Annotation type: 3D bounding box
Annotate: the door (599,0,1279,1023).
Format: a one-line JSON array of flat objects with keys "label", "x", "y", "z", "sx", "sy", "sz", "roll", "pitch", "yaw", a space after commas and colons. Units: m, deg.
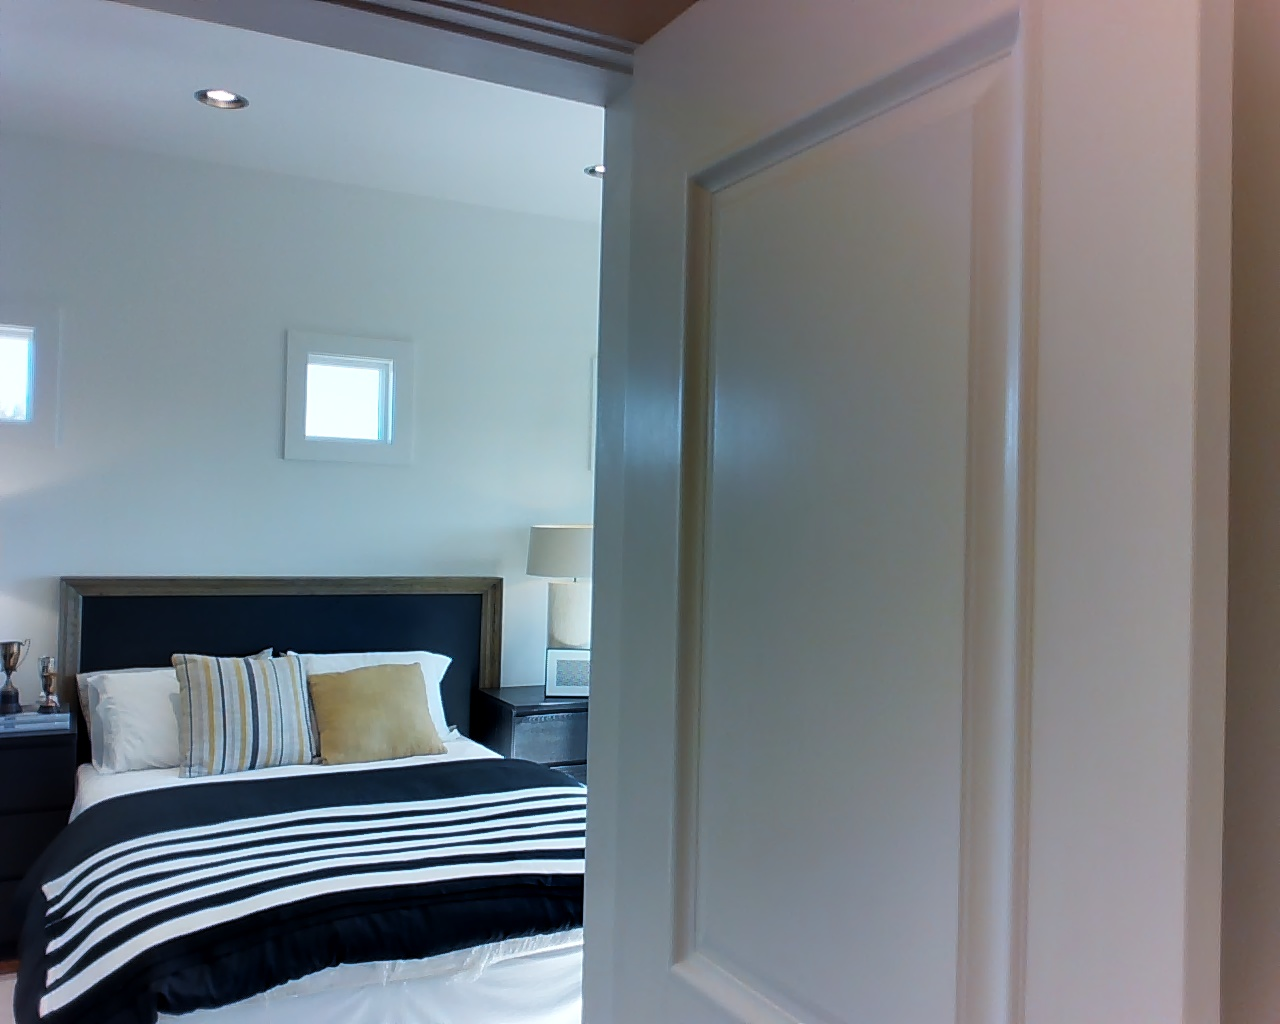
[{"label": "door", "x": 0.180, "y": 0.510, "z": 0.990, "sx": 0.090, "sy": 2.130, "sz": 0.770, "roll": 1, "pitch": -1, "yaw": -29}]
